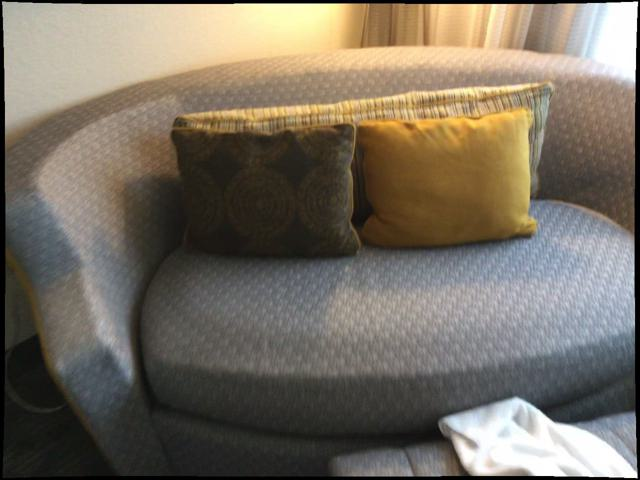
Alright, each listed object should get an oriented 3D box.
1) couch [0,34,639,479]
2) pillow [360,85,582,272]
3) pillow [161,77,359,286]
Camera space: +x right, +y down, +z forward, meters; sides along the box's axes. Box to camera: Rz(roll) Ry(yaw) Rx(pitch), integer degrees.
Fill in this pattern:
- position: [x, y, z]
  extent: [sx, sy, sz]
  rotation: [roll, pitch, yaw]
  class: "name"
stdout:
- position: [0.180, 0.040, 1.640]
  extent: [1.858, 0.790, 1.150]
  rotation: [-4, 39, -5]
  class: "couch"
- position: [0.350, -0.180, 1.540]
  extent: [0.470, 0.280, 0.460]
  rotation: [2, 38, 2]
  class: "pillow"
- position: [-0.120, -0.170, 1.510]
  extent: [0.420, 0.320, 0.490]
  rotation: [1, 38, 1]
  class: "pillow"
